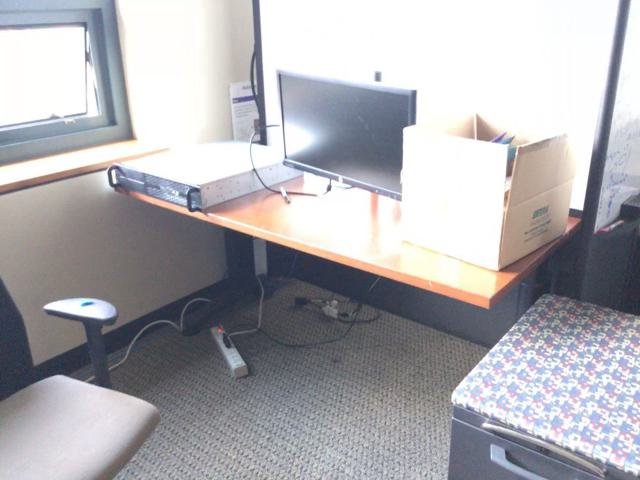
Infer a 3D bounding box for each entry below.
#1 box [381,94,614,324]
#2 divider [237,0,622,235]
[{"bbox_3d":[0.500,-0.130,1.640,0.420,0.460,0.500,16,30,40],"label":"box"},{"bbox_3d":[0.250,-0.610,1.980,1.380,0.930,0.150,16,30,40],"label":"divider"}]
